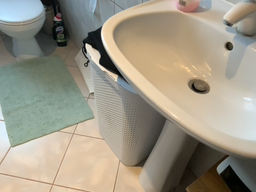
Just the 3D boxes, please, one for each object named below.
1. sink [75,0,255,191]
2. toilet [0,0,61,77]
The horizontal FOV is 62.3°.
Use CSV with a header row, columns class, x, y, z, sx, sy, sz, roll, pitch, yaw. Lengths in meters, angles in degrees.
class,x,y,z,sx,sy,sz,roll,pitch,yaw
sink,0.190,-0.060,0.580,0.440,0.180,0.550,-25,54,-28
toilet,-0.830,-0.650,1.520,0.360,0.720,0.630,-25,54,-28
